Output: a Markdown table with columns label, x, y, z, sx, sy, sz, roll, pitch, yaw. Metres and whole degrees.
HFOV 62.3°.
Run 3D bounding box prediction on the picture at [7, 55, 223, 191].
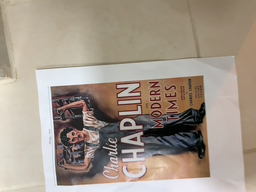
| label | x | y | z | sx | sy | sz | roll | pitch | yaw |
| --- | --- | --- | --- | --- | --- | --- | --- | --- | --- |
| picture | -0.020 | 0.050 | 0.310 | 0.300 | 0.010 | 0.200 | -3 | 90 | 1 |
